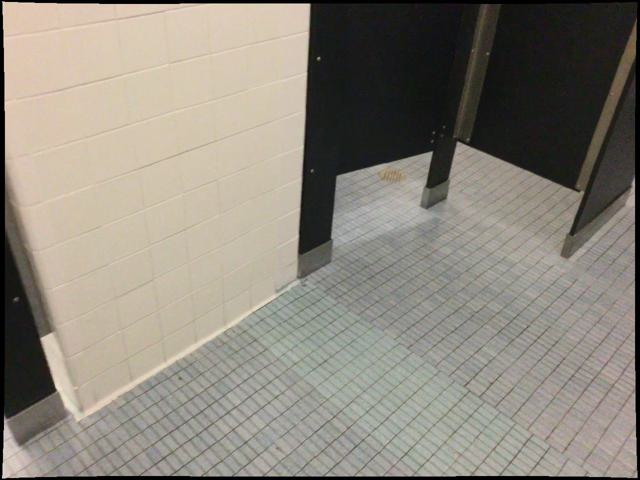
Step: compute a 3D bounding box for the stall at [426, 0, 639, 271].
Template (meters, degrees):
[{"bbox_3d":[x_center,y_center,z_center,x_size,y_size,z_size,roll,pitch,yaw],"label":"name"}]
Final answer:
[{"bbox_3d":[0.838,-0.592,2.120,0.649,1.272,0.270,31,43,32],"label":"stall"}]
